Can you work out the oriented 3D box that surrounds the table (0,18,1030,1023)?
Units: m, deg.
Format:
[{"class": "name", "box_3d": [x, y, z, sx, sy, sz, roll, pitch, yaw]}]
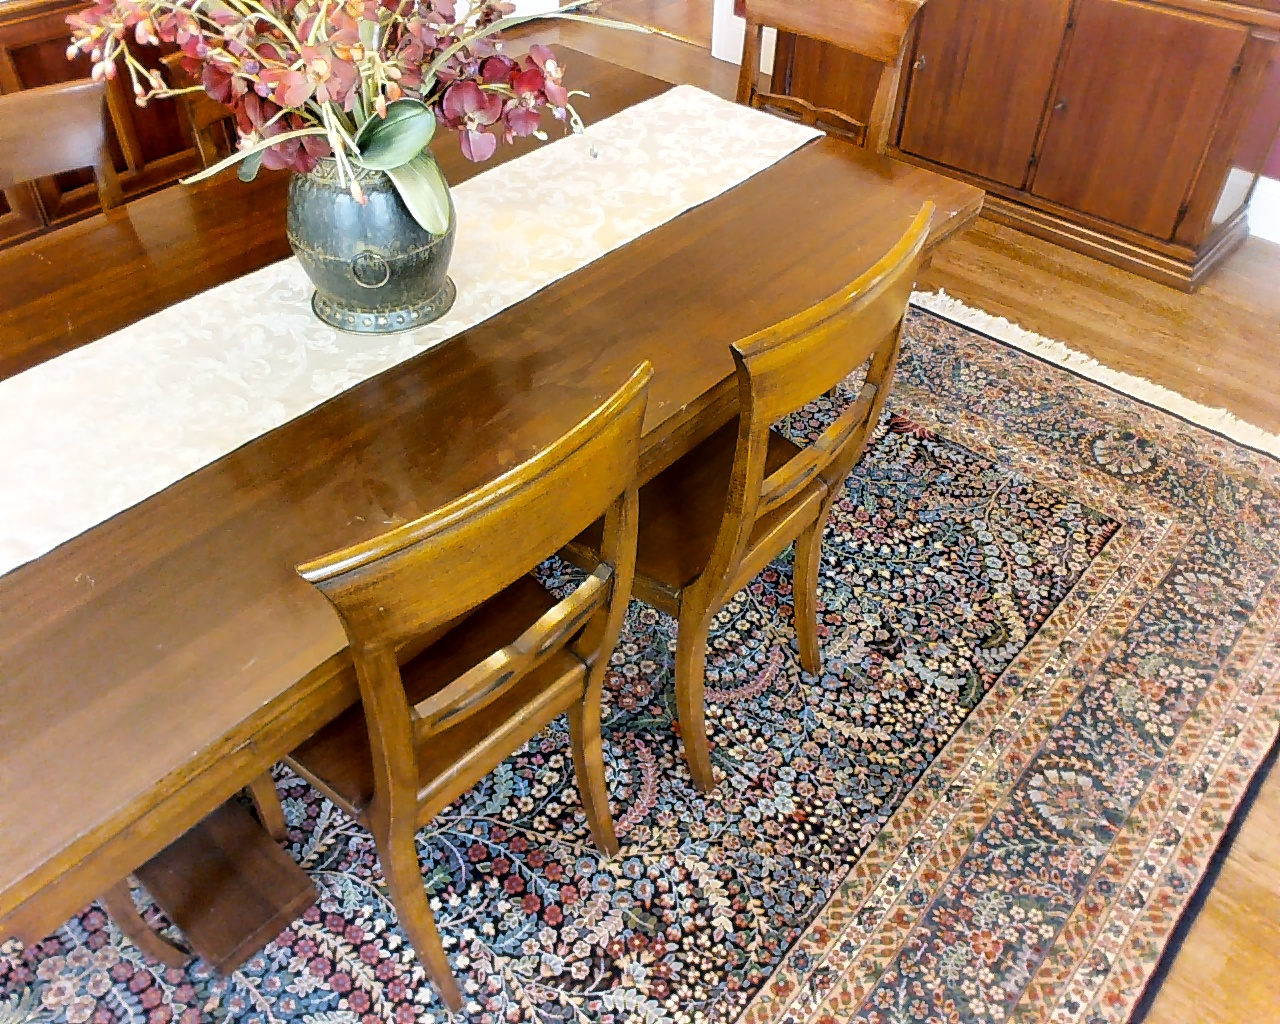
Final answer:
[{"class": "table", "box_3d": [-0.390, -0.090, 1.840, 1.140, 0.760, 1.840, 32, 51, 30]}]
